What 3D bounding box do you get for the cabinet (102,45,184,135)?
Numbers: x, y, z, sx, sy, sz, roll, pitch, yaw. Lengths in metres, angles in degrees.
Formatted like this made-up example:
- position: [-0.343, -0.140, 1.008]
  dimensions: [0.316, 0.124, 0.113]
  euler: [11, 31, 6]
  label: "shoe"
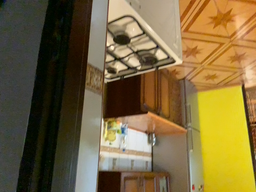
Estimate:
- position: [0.270, 0.020, 2.950]
  dimensions: [0.560, 0.860, 1.200]
  euler: [-11, 158, 33]
  label: "cabinet"
